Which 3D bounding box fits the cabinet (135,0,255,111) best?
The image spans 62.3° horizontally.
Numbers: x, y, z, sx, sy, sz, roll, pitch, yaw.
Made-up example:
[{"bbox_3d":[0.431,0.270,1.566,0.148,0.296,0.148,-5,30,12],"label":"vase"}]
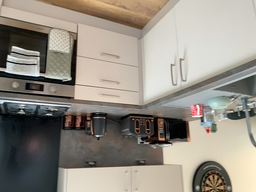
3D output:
[{"bbox_3d":[0.620,-0.490,1.520,0.480,0.900,1.490,7,163,-25],"label":"cabinet"}]
